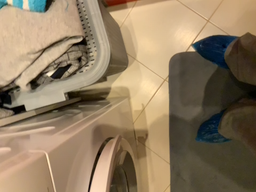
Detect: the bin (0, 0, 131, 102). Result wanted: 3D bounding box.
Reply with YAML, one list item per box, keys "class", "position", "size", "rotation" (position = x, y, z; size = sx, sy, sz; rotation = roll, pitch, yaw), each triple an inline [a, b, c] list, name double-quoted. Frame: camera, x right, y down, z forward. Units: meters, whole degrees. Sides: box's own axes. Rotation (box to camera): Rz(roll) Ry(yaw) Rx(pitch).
- class: "bin"
  position: [-0.240, -0.170, 0.750]
  size: [0.380, 0.640, 0.300]
  rotation: [-6, 95, 9]
